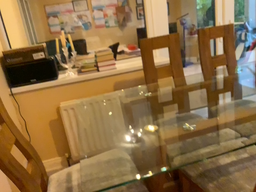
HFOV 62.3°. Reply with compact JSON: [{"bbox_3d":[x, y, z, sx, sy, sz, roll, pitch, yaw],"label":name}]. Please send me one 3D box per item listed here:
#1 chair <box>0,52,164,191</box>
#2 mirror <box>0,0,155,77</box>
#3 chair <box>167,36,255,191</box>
[{"bbox_3d":[-0.170,0.360,1.060,0.560,1.030,0.380,-14,19,-14],"label":"chair"},{"bbox_3d":[-0.450,-0.840,1.920,1.350,1.090,0.060,-13,19,-11],"label":"mirror"},{"bbox_3d":[0.500,0.320,0.870,0.390,1.030,0.560,-13,19,-11],"label":"chair"}]
